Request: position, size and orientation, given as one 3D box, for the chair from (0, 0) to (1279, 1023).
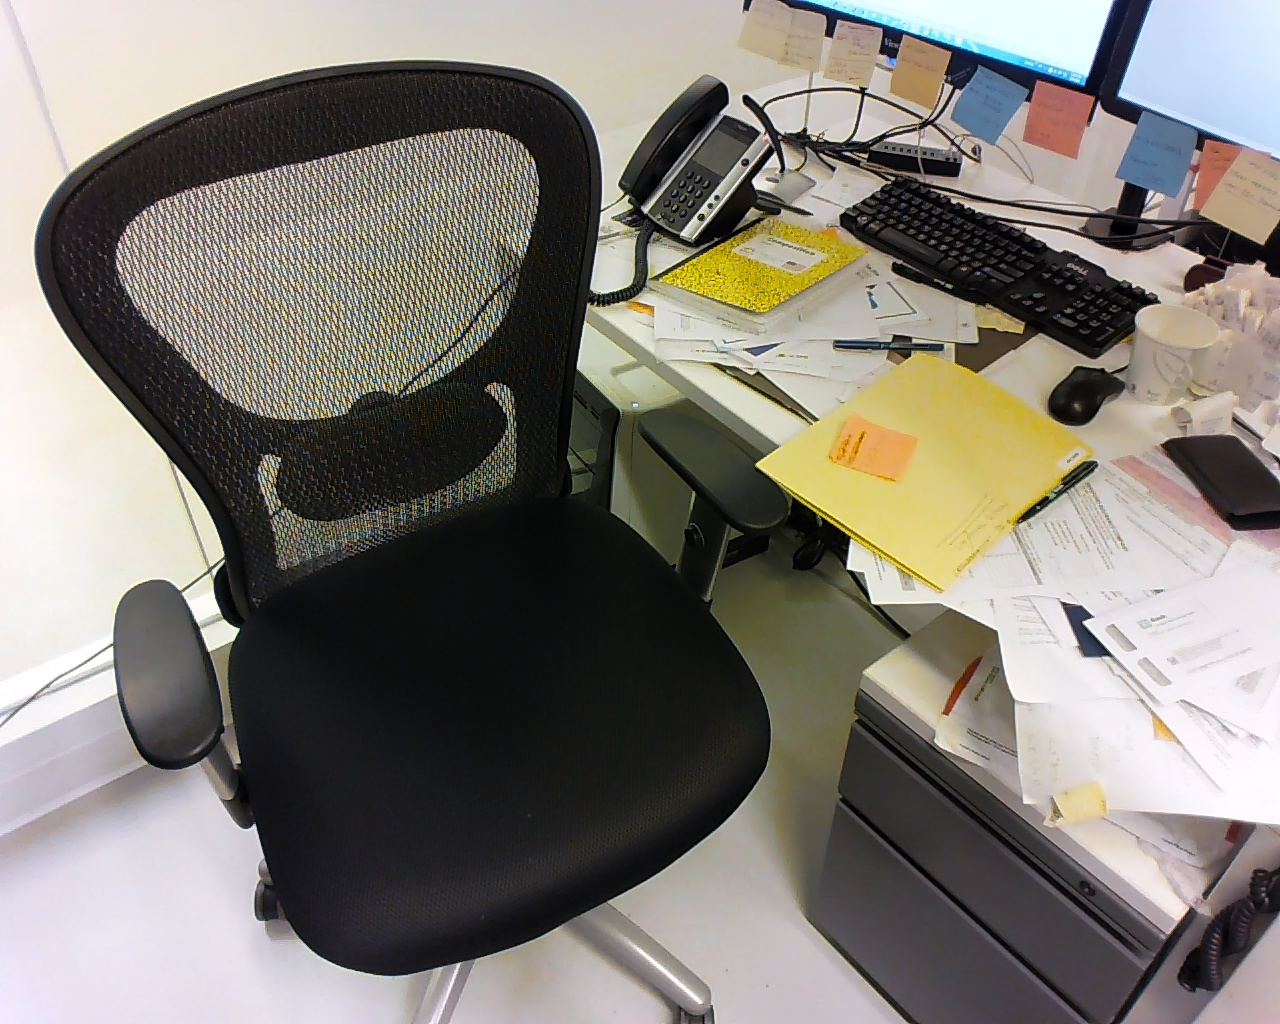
[{"bbox_3d":[-0.120,0.180,1.170,0.680,1.120,0.880,-26,48,-25],"label":"chair"}]
